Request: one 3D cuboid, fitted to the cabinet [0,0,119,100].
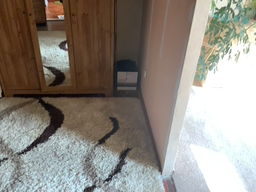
[{"bbox_3d":[-0.780,-0.930,2.280,1.300,1.890,0.630,0,32,-8],"label":"cabinet"}]
